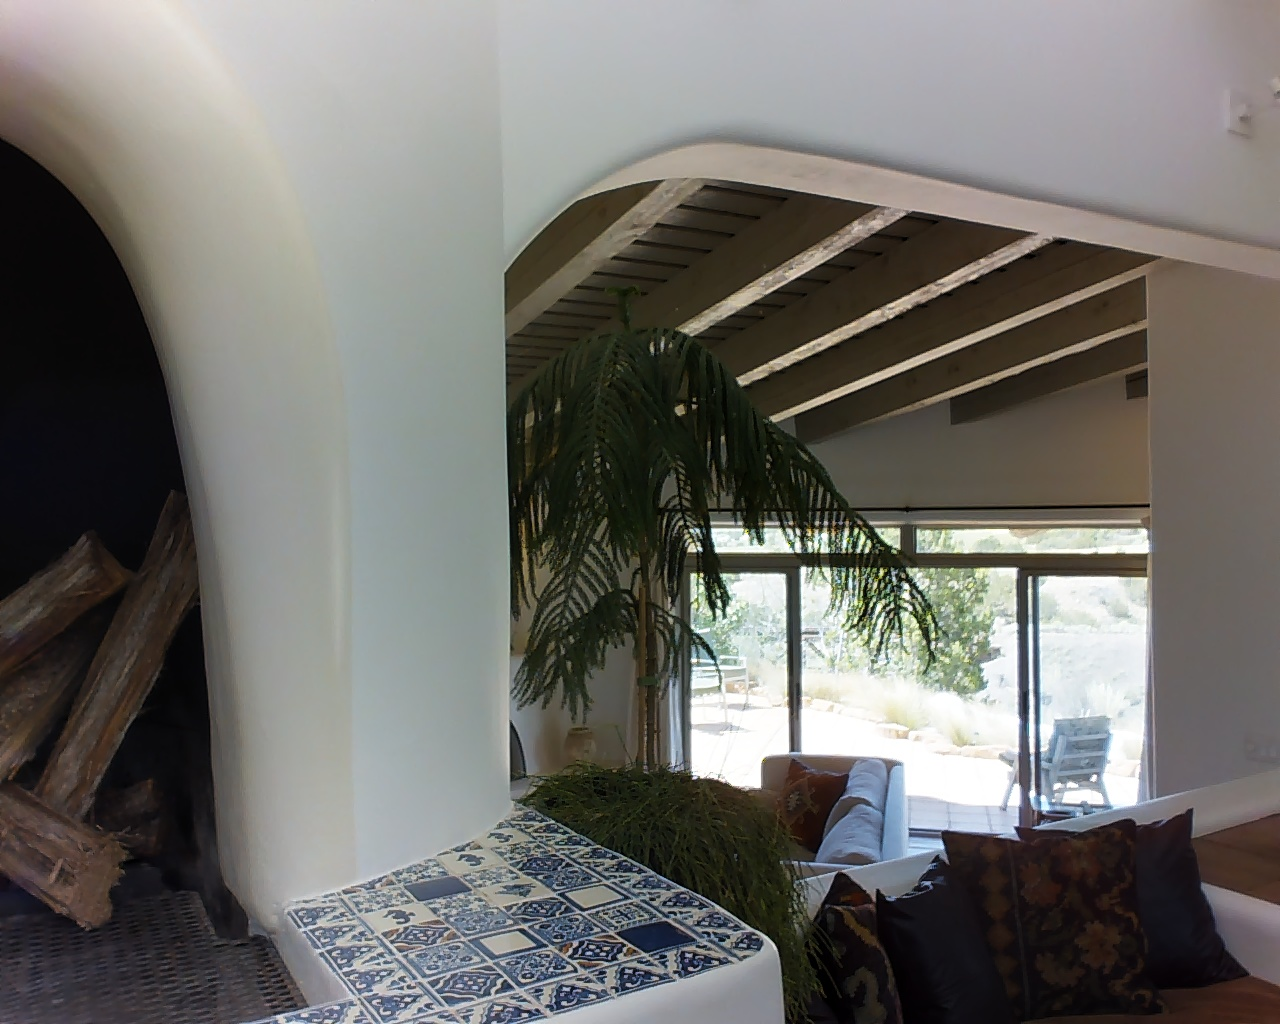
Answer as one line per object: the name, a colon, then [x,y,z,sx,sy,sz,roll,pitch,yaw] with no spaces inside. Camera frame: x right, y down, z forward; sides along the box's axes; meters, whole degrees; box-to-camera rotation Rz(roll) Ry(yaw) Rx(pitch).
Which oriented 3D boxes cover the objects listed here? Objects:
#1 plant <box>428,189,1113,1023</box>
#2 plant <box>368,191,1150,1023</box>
plant: [0.180,0.260,1.700,0.860,1.260,0.630,-1,0,-27]
plant: [0.130,0.280,1.800,0.920,1.260,0.940,-1,0,-29]
